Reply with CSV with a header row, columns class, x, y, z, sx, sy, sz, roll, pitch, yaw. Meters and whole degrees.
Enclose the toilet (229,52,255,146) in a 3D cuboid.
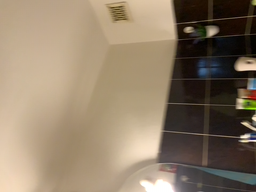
class,x,y,z,sx,sy,sz,roll,pitch,yaw
toilet,0.720,0.000,1.220,0.130,0.220,0.550,60,-144,-53
